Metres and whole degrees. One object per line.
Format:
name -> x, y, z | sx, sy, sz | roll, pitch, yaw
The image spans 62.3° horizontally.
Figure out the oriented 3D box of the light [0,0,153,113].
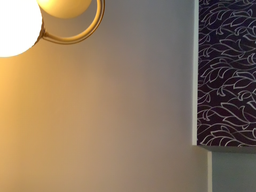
light -> -0.230, -0.200, 0.520 | 0.440, 0.200, 0.330 | 37, 144, -19
